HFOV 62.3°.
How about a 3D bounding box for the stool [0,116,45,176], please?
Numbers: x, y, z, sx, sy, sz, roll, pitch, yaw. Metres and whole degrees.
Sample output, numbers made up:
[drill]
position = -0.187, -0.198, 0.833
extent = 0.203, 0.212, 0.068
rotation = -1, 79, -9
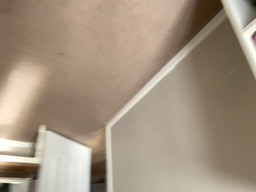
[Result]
[stool]
position = -1.180, 0.540, 2.210
extent = 0.480, 0.470, 0.440
rotation = 10, 145, -23
